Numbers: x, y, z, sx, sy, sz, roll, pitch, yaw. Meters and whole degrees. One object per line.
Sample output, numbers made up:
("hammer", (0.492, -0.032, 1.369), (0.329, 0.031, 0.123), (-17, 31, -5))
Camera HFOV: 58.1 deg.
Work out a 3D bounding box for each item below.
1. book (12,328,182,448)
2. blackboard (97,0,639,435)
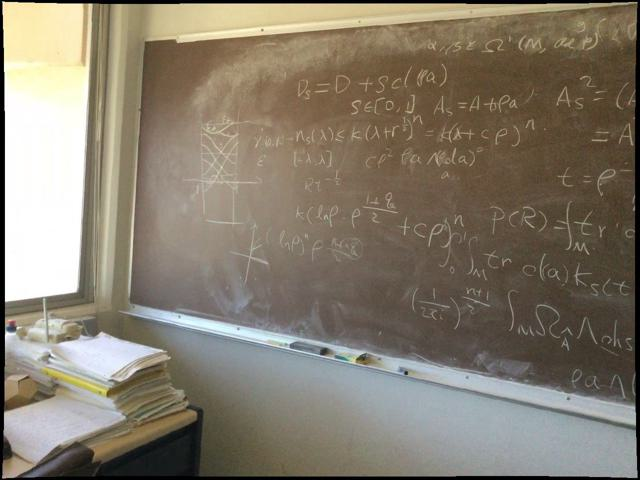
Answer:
("book", (-0.738, 0.471, 1.930), (0.389, 0.231, 0.350), (7, 5, 27))
("blackboard", (0.798, -0.080, 1.660), (3.752, 1.173, 0.190), (7, 5, 27))
